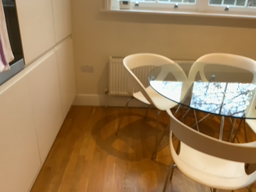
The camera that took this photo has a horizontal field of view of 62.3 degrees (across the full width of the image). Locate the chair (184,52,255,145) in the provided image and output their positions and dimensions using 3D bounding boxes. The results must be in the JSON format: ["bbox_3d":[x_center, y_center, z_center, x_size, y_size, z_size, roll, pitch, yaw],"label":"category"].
[{"bbox_3d":[1.010,-0.010,2.270,0.550,0.770,0.470,-19,33,-39],"label":"chair"}]
